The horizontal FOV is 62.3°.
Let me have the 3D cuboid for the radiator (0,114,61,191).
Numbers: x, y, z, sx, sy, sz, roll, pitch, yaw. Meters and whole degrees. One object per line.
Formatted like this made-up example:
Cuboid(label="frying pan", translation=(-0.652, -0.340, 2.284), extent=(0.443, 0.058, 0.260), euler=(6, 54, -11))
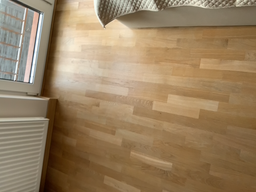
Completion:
Cuboid(label="radiator", translation=(-0.850, 0.480, 1.510), extent=(0.180, 0.700, 0.680), euler=(7, 90, 29))
